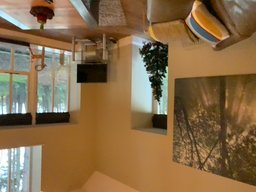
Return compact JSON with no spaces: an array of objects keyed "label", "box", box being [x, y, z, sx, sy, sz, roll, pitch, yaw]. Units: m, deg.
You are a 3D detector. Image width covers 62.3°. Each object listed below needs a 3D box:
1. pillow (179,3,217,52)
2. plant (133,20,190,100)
[{"label":"pillow","box":[0.710,-0.730,2.220,0.120,0.440,0.430,29,-154,0]},{"label":"plant","box":[0.690,-0.630,4.290,0.980,1.390,0.650,2,179,-42]}]
